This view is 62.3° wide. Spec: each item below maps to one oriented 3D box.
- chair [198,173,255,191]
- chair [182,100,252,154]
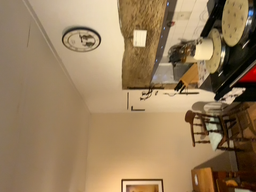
[{"bbox_3d":[1.280,1.080,2.220,0.640,0.840,0.500,90,178,-70],"label":"chair"},{"bbox_3d":[1.320,0.480,3.290,0.540,0.730,0.630,89,179,-49],"label":"chair"}]
